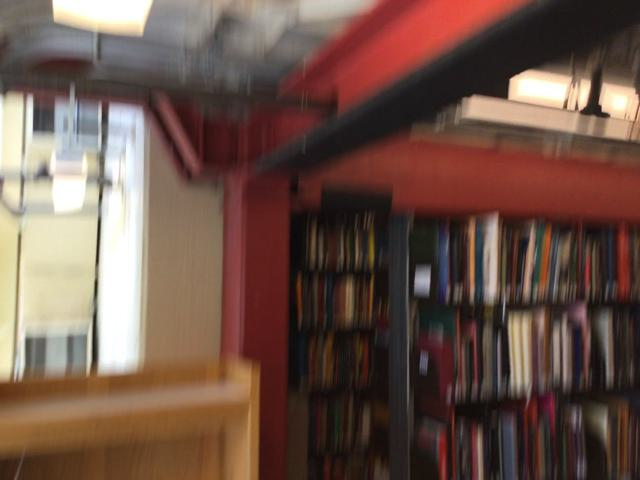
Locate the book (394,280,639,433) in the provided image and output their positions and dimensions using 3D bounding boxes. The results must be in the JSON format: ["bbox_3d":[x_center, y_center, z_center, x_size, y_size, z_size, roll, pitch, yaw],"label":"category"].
[{"bbox_3d":[1.120,0.460,2.620,1.520,0.530,0.430,0,-4,-22],"label":"book"}]

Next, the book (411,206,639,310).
[{"bbox_3d":[1.150,0.080,2.590,1.510,0.390,0.310,0,-4,-22],"label":"book"}]

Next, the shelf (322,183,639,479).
[{"bbox_3d":[0.950,0.760,2.750,1.620,1.870,0.890,0,-4,-21],"label":"shelf"}]

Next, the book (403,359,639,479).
[{"bbox_3d":[1.110,0.820,2.540,1.490,0.450,0.340,0,-4,-22],"label":"book"}]
